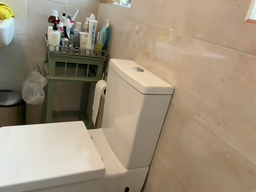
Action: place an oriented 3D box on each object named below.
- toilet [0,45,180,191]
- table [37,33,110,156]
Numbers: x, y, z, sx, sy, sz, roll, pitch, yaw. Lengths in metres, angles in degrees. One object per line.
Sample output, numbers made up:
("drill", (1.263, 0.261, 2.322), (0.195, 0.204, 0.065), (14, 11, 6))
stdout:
("toilet", (-0.250, 0.260, 0.900), (0.620, 0.810, 0.370), (1, 24, -28))
("table", (-0.430, -0.010, 1.540), (0.370, 0.760, 0.360), (2, 23, -27))
